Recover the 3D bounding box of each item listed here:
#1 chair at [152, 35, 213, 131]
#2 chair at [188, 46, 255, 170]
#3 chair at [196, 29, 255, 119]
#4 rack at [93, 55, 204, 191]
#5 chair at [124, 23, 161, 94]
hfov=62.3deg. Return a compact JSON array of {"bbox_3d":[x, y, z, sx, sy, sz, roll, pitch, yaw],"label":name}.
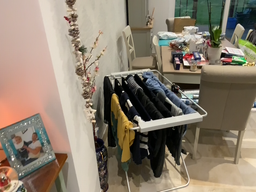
[{"bbox_3d":[0.540,-0.130,2.320,0.480,0.950,0.390,-3,28,-2],"label":"chair"},{"bbox_3d":[0.820,0.090,1.880,0.450,0.930,0.530,4,29,11],"label":"chair"},{"bbox_3d":[1.210,-0.260,2.520,0.590,0.930,0.490,1,28,6],"label":"chair"},{"bbox_3d":[0.070,0.180,1.950,0.610,0.750,1.140,-8,28,-10],"label":"rack"},{"bbox_3d":[0.230,-0.550,3.130,0.480,0.950,0.400,2,28,8],"label":"chair"}]
